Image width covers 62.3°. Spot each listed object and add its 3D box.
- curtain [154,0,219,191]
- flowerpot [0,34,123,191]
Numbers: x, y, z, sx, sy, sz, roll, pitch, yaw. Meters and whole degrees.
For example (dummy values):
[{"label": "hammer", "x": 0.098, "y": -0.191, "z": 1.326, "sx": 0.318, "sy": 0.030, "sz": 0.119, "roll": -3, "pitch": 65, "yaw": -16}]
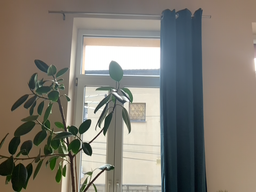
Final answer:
[{"label": "curtain", "x": 0.490, "y": 0.570, "z": 1.870, "sx": 0.500, "sy": 2.950, "sz": 0.260, "roll": 1, "pitch": -9, "yaw": 4}, {"label": "flowerpot", "x": -0.710, "y": 0.730, "z": 1.660, "sx": 1.260, "sy": 2.290, "sz": 0.580, "roll": 1, "pitch": -9, "yaw": 0}]
